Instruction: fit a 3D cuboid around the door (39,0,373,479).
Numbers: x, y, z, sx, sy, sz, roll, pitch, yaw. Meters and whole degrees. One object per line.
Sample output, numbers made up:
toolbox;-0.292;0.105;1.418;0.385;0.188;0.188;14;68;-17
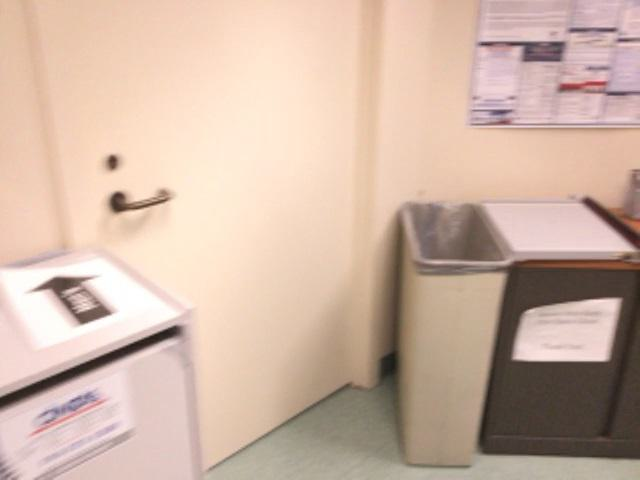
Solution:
door;-0.200;-0.210;1.570;0.860;1.940;0.110;-21;29;-37

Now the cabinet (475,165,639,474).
cabinet;1.280;0.240;1.850;1.420;0.830;0.570;1;23;9
